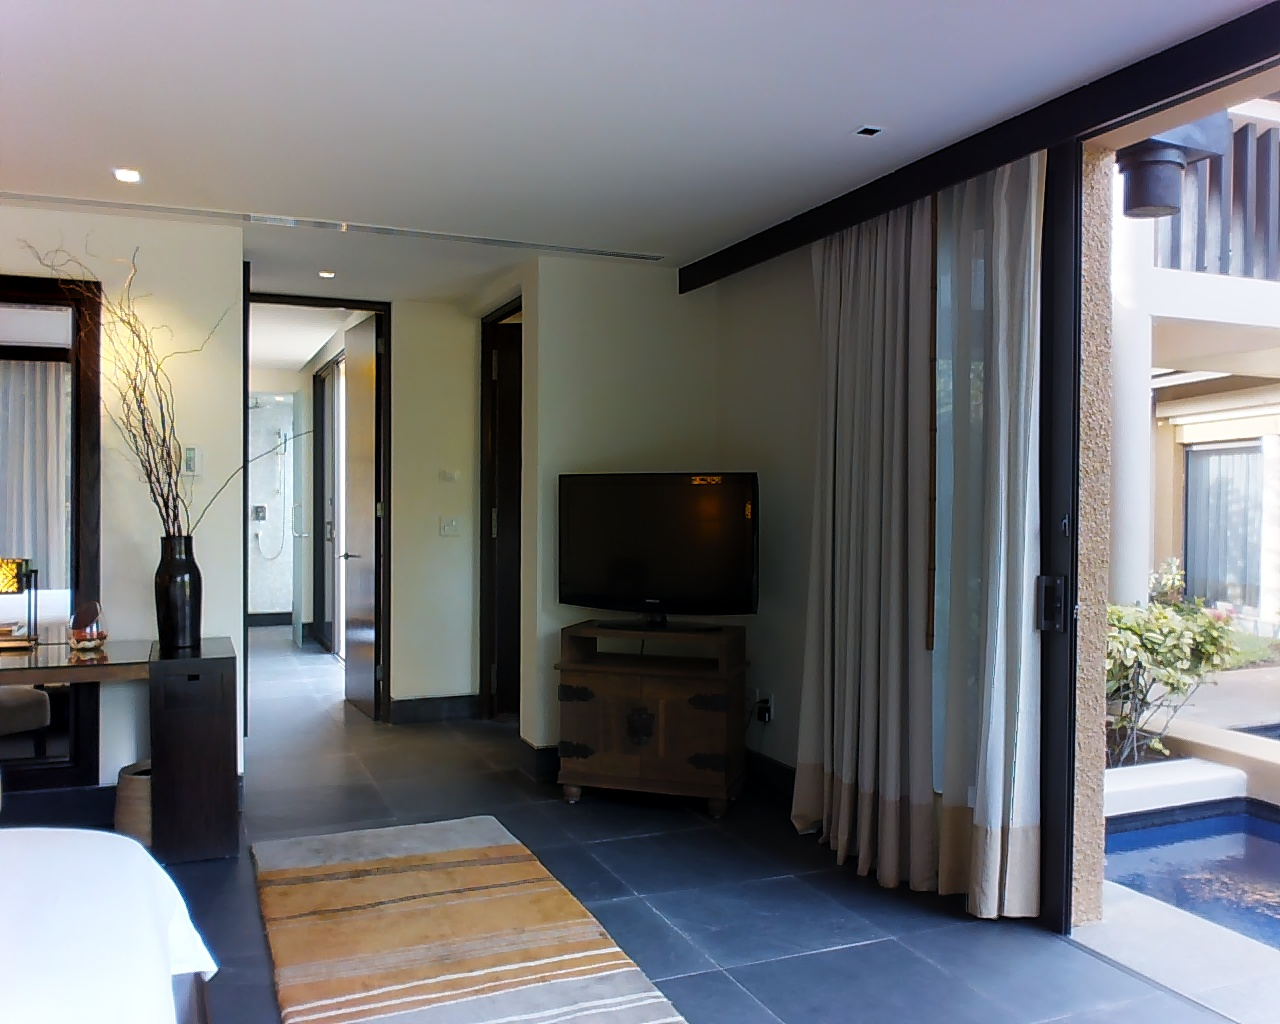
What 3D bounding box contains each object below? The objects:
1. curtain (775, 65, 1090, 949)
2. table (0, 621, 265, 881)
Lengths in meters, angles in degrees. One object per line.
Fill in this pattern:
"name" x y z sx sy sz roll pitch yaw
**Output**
"curtain" 0.970 -0.020 3.890 0.290 2.631 1.370 0 1 -22
"table" -2.639 0.880 3.920 2.369 0.800 0.640 0 1 -22
